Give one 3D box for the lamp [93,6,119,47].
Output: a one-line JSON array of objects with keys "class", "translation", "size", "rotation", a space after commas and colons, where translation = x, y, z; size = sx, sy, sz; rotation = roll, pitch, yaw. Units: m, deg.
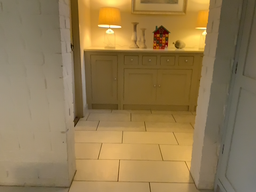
[{"class": "lamp", "translation": [-0.310, -1.020, 3.150], "size": [0.330, 0.550, 0.410], "rotation": [1, 17, 1]}]
